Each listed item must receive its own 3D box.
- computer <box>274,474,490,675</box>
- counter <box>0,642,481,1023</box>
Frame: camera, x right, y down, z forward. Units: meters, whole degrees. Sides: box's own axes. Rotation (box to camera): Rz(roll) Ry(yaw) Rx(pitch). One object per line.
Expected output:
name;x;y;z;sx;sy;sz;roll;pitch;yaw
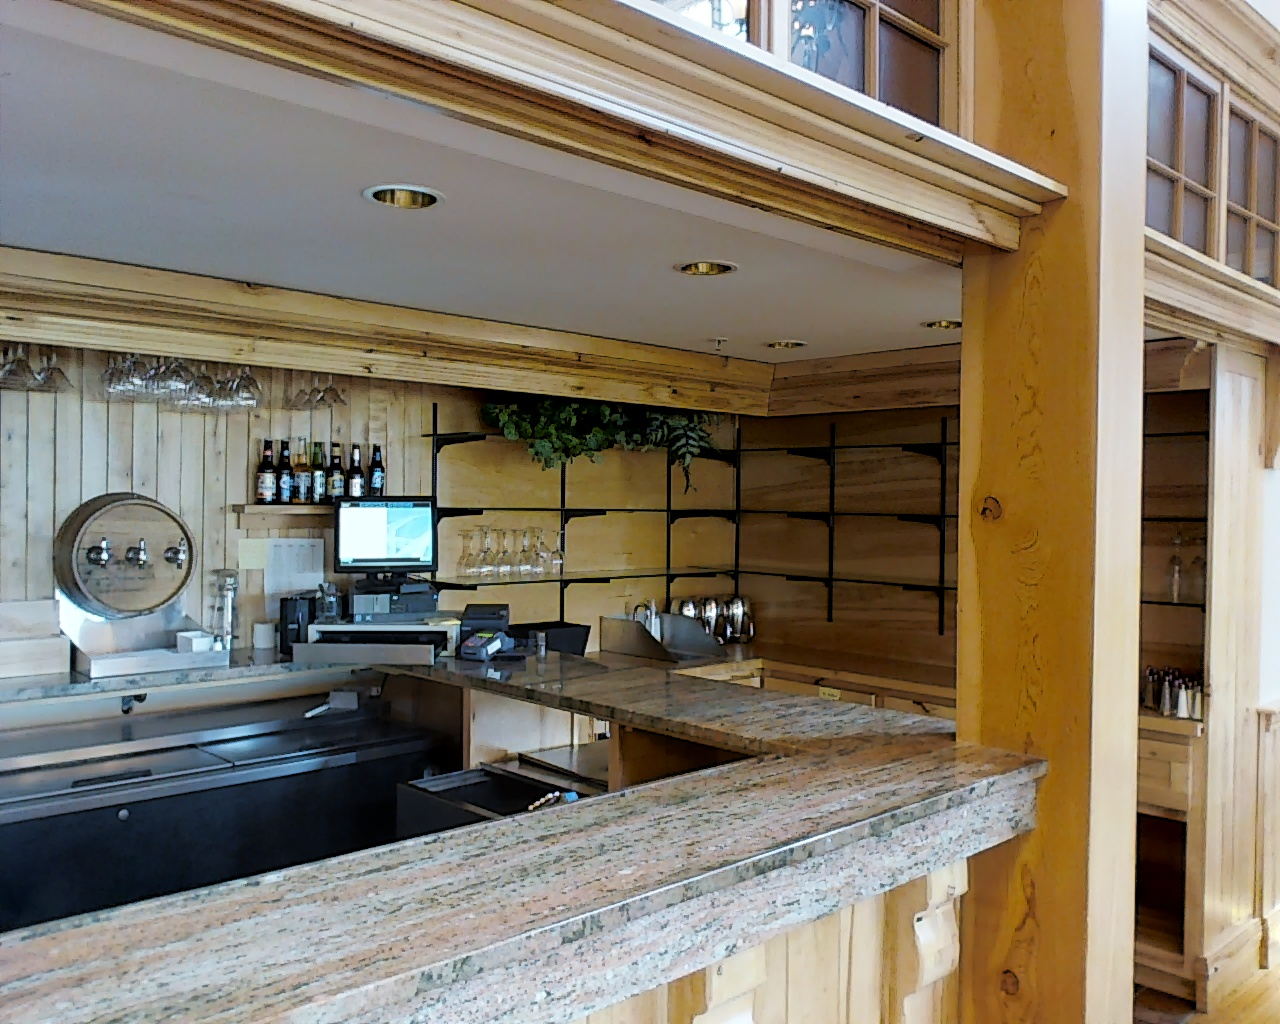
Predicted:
computer;-0.840;0.190;3.630;0.590;0.610;0.670;1;1;-3
counter;-1.560;0.990;3.050;2.070;0.990;0.830;0;1;-43
